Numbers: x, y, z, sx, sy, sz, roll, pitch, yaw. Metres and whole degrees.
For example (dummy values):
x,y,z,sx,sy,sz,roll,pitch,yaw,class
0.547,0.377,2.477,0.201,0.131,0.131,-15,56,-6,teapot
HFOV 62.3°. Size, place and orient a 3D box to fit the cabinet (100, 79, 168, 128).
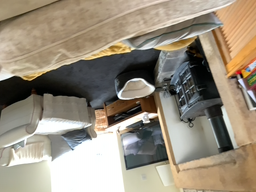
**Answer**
x,y,z,sx,sy,sz,roll,pitch,yaw,class
0.070,0.180,3.580,0.550,0.490,0.960,12,152,-44,cabinet
